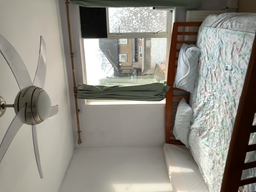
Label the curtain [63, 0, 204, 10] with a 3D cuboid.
[{"bbox_3d":[0.080,-1.400,2.910,0.160,1.910,0.380,-96,5,-70],"label":"curtain"}]

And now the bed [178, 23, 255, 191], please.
[{"bbox_3d":[1.250,0.200,2.350,2.330,0.680,1.870,-96,5,-70],"label":"bed"}]
